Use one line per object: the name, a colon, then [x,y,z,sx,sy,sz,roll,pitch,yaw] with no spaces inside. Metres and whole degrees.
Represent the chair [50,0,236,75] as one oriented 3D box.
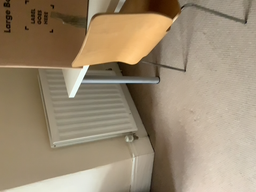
chair: [0.090,-0.410,1.140,0.390,0.840,0.450,-37,63,50]
